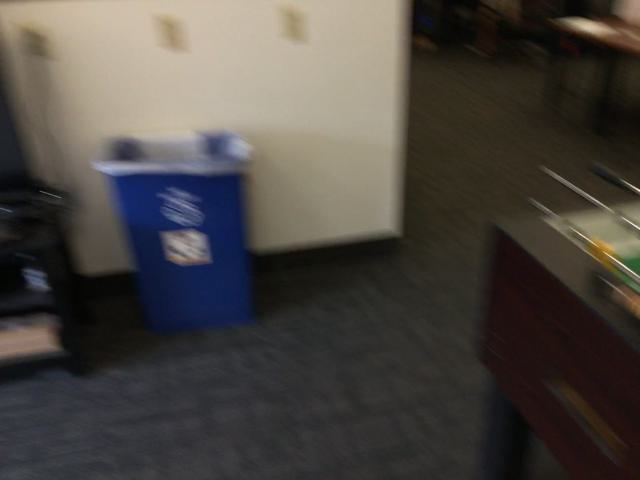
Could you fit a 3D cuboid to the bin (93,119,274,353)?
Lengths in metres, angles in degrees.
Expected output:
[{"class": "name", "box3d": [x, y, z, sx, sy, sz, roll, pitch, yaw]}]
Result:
[{"class": "bin", "box3d": [-0.510, -0.020, 2.240, 0.530, 0.740, 0.350, -12, 32, -14]}]
